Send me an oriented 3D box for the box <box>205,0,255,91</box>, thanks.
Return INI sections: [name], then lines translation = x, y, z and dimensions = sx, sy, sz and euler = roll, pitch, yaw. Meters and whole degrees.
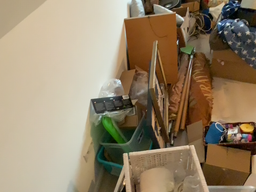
[box]
translation = 1.190, -0.620, 2.100
dimensions = 0.640, 0.820, 0.750
euler = 9, 46, 19
